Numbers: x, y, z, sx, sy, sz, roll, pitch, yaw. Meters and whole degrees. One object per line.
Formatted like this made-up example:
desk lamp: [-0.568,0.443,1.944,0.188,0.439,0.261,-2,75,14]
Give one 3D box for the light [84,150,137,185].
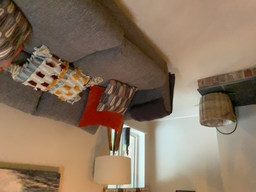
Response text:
light: [-0.200,0.900,2.640,0.450,0.360,0.460,-13,153,32]
